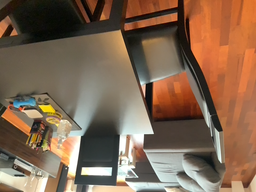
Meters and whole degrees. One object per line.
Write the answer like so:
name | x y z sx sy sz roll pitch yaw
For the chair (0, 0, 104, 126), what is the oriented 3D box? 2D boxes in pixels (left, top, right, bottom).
chair | -0.450 -0.420 1.040 0.410 0.990 0.480 -7 143 16
